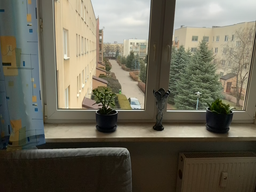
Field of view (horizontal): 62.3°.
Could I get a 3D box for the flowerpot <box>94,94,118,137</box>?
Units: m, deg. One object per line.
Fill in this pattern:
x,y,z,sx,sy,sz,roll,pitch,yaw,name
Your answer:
-0.170,0.140,1.620,0.170,0.270,0.220,1,13,-6,flowerpot
